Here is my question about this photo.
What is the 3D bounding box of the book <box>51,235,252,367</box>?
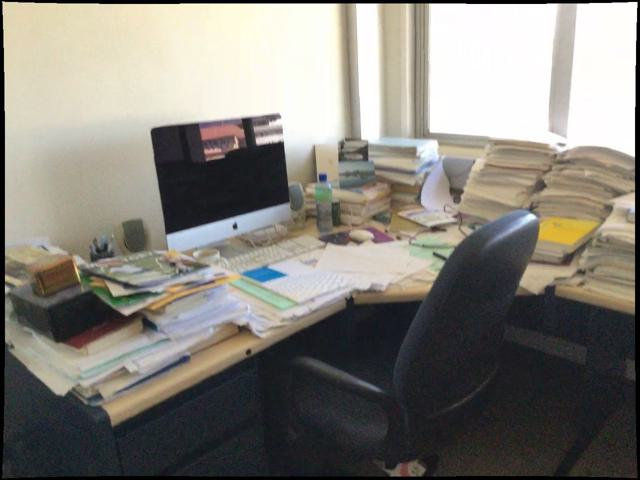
[{"bbox_3d":[-0.429,0.130,1.470,0.380,0.140,0.330,14,25,41],"label":"book"}]

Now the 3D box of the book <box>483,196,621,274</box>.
[{"bbox_3d":[0.748,-0.030,1.850,0.270,0.100,0.410,14,25,41],"label":"book"}]

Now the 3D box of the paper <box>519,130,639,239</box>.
[{"bbox_3d":[0.938,-0.211,2.000,0.350,0.281,0.310,14,25,41],"label":"paper"}]

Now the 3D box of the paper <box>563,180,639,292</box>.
[{"bbox_3d":[0.977,-0.010,1.640,0.399,0.200,0.390,14,25,41],"label":"paper"}]

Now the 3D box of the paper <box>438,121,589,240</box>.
[{"bbox_3d":[0.738,-0.251,2.210,0.380,0.331,0.440,14,25,41],"label":"paper"}]
